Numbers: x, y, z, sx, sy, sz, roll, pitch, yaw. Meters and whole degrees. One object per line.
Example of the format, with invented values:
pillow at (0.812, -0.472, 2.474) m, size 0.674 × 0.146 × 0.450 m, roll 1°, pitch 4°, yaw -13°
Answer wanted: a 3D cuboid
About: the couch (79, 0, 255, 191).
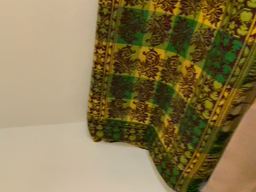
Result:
couch at (0.300, -0.340, 1.510) m, size 1.080 × 0.910 × 1.990 m, roll -127°, pitch 42°, yaw -51°
